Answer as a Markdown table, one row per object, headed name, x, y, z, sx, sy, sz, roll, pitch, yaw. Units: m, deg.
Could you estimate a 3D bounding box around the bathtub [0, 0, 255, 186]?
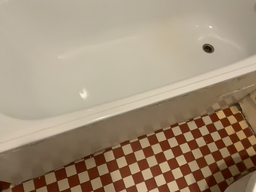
| name | x | y | z | sx | sy | sz | roll | pitch | yaw |
| --- | --- | --- | --- | --- | --- | --- | --- | --- | --- |
| bathtub | 0.040 | -0.200 | 1.120 | 1.580 | 0.530 | 0.700 | -17 | 68 | -15 |
